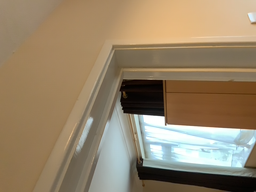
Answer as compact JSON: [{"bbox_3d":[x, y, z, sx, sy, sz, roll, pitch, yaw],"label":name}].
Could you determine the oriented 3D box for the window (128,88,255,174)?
[{"bbox_3d":[0.910,0.580,3.040,1.710,1.600,0.160,78,-161,-45],"label":"window"}]
